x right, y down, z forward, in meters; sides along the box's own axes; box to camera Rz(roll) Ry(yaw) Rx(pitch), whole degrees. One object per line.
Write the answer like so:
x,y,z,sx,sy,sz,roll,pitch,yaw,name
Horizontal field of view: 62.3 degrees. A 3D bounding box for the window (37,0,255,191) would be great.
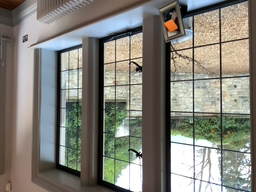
-0.200,0.120,1.770,2.210,1.520,0.100,-1,178,42,window
